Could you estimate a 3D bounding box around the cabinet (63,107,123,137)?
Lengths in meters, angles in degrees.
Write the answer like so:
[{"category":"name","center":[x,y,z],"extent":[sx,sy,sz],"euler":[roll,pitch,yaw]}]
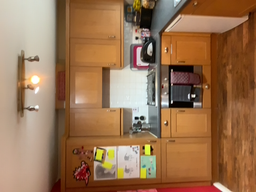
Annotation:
[{"category":"cabinet","center":[-0.500,0.370,3.130],"extent":[0.330,0.830,0.390],"euler":[163,107,-82]}]
